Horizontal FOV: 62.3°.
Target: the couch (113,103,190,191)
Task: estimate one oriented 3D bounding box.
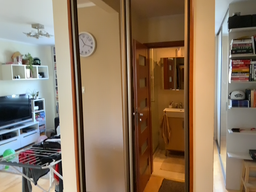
[{"bbox_3d":[0.490,0.670,3.490,0.900,0.820,1.630,5,8,17],"label":"couch"}]
